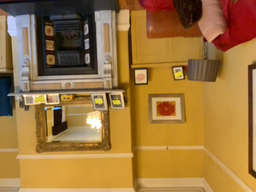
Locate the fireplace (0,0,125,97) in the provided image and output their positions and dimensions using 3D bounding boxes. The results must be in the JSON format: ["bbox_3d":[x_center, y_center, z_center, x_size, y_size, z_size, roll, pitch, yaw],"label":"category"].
[{"bbox_3d":[-0.960,-0.700,3.180,1.760,1.330,0.760,-2,-176,2],"label":"fireplace"}]

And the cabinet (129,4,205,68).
[{"bbox_3d":[0.630,-0.970,3.550,1.190,0.940,0.340,-2,-176,2],"label":"cabinet"}]

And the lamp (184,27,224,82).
[{"bbox_3d":[0.990,-0.520,2.810,0.420,0.660,0.360,-2,-176,5],"label":"lamp"}]
